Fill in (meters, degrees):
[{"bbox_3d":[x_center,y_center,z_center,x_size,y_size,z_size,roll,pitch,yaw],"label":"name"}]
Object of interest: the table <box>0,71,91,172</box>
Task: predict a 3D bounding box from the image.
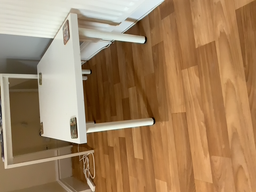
[{"bbox_3d":[-0.910,0.220,2.190,0.790,0.720,0.790,-13,82,57],"label":"table"}]
